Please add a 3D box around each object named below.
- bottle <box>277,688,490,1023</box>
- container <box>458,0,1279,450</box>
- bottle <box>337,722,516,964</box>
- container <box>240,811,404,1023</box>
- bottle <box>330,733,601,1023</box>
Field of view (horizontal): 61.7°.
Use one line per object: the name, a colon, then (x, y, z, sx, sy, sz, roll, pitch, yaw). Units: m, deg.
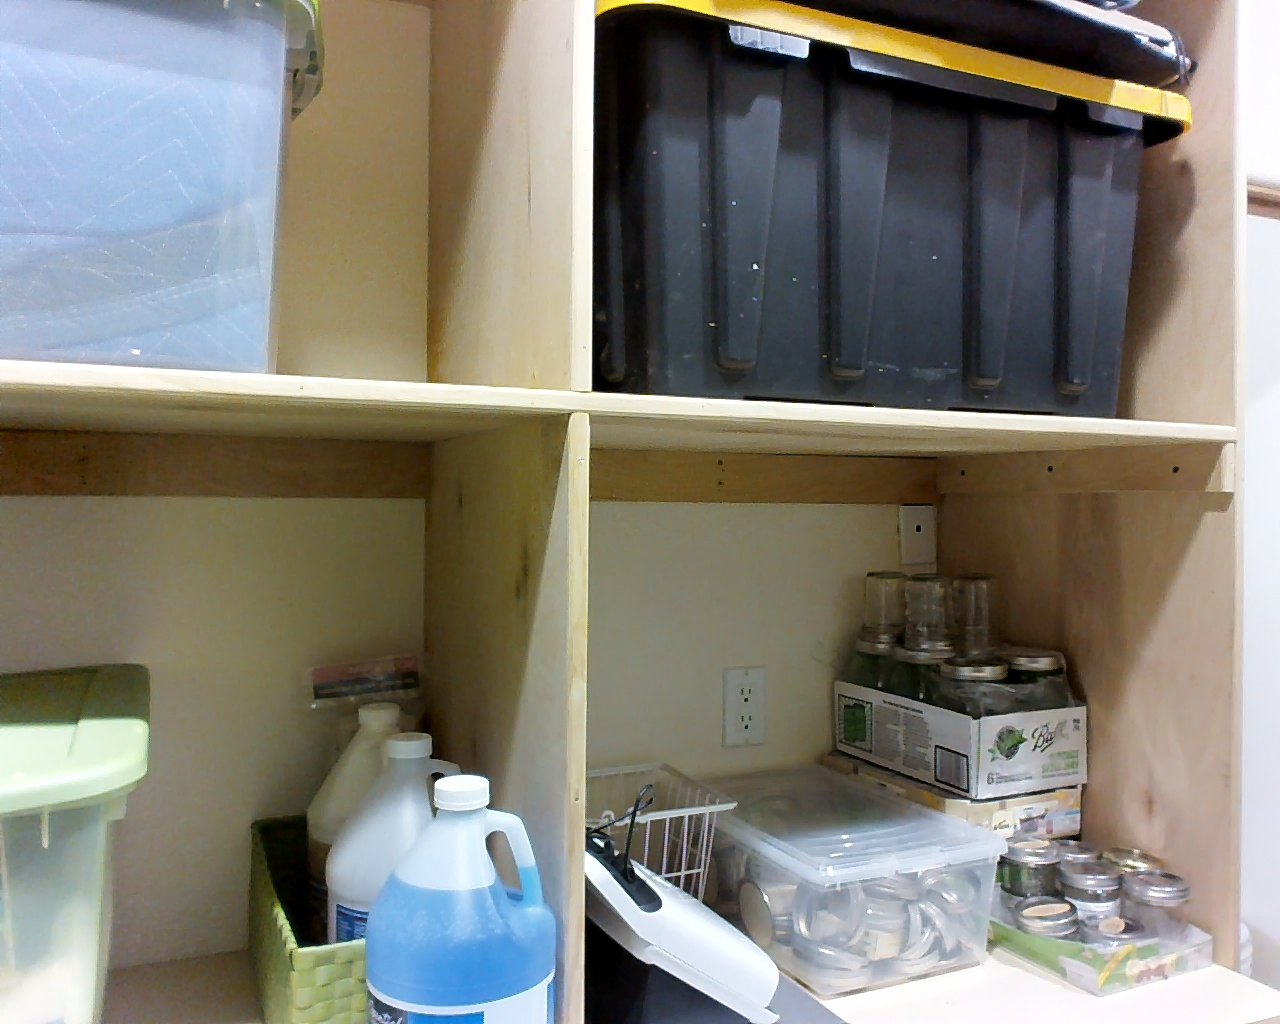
bottle: (-0.280, 0.370, 1.140, 0.180, 0.320, 0.240, 1, 0, -23)
container: (0.250, -0.370, 1.240, 0.790, 0.540, 0.520, 1, 0, -26)
bottle: (-0.200, 0.300, 1.000, 0.140, 0.180, 0.100, 1, 0, -28)
container: (-0.330, 0.440, 1.070, 0.090, 0.170, 0.410, 1, 0, -26)
bottle: (-0.160, 0.370, 0.920, 0.160, 0.300, 0.260, 1, 0, -26)
